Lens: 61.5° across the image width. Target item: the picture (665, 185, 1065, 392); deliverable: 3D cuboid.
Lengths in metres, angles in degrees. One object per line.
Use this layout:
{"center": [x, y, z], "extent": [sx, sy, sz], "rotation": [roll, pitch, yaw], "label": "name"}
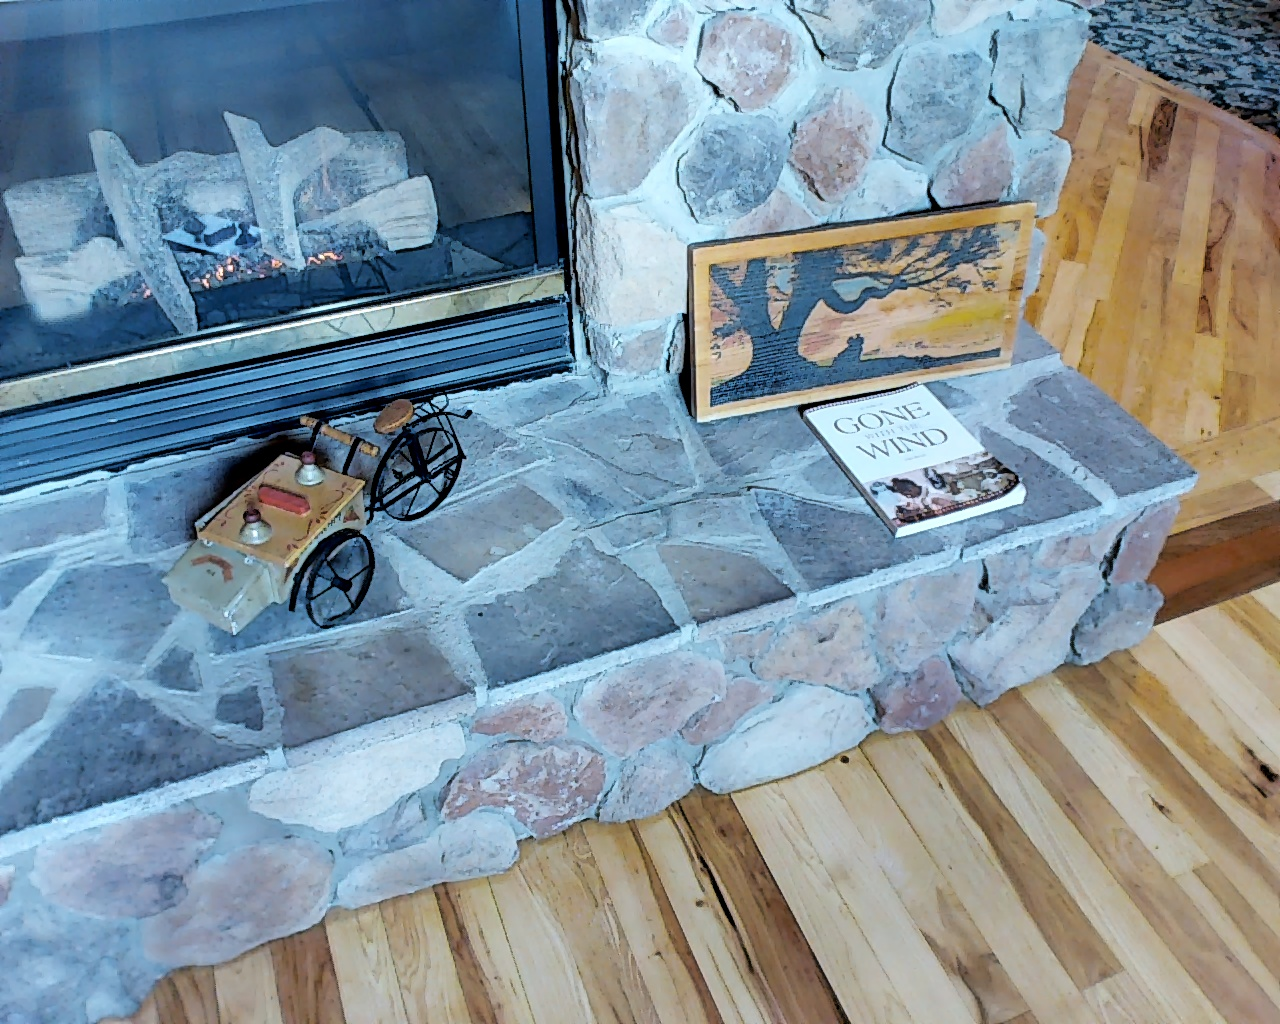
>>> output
{"center": [0.380, -0.360, 1.810], "extent": [0.630, 0.270, 0.080], "rotation": [2, 39, -21], "label": "picture"}
